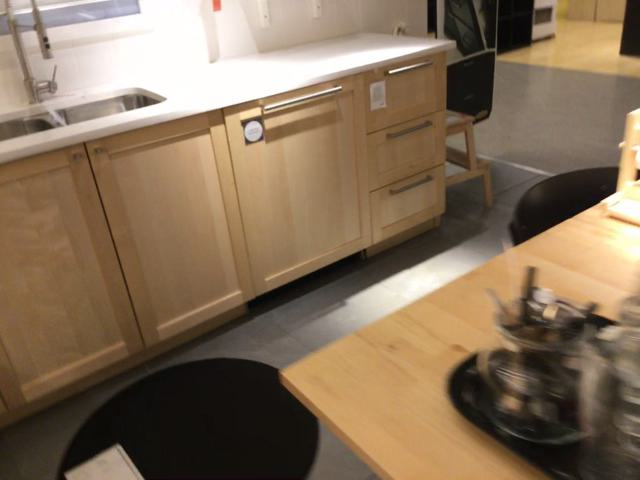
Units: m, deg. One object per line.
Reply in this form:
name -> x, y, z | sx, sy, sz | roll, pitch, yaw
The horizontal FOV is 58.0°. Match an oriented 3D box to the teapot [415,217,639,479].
teapot -> 0.340, 0.160, 0.710 | 0.330, 0.210, 0.280 | -24, 31, -29

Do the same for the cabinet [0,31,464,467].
cabinet -> -0.550, -0.100, 2.220 | 2.470, 0.900, 0.660 | -24, 31, -29

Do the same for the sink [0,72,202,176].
sink -> -0.890, -0.400, 1.970 | 0.840, 0.130, 0.440 | -24, 31, -29
